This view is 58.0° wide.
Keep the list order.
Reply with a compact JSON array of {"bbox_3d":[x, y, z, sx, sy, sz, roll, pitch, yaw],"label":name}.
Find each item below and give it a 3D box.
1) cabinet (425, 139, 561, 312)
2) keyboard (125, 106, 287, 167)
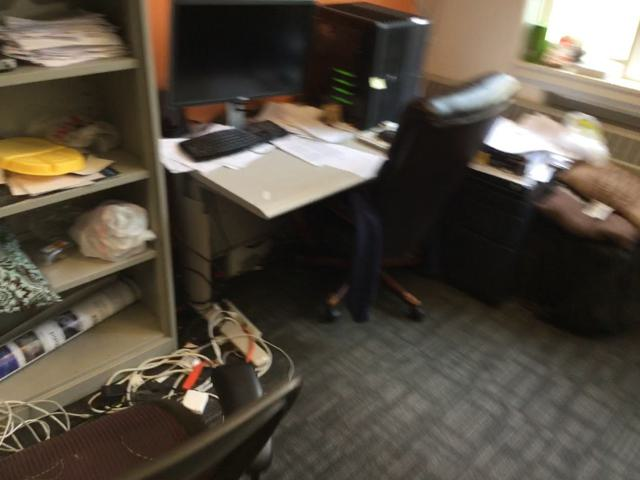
[{"bbox_3d":[0.730,-0.070,2.510,0.230,0.610,0.390,-22,39,-39],"label":"cabinet"},{"bbox_3d":[-0.430,-0.410,2.220,0.500,0.050,0.340,-22,38,-39],"label":"keyboard"}]
